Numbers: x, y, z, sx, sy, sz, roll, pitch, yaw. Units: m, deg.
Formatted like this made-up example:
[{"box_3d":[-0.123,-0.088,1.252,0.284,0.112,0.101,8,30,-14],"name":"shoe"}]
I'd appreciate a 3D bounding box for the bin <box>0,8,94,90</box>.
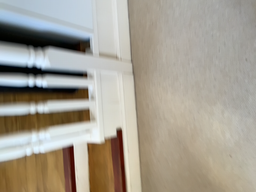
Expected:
[{"box_3d":[-0.540,-0.190,1.050,0.350,0.650,0.300,-4,89,38],"name":"bin"}]
